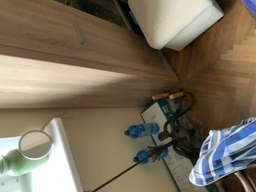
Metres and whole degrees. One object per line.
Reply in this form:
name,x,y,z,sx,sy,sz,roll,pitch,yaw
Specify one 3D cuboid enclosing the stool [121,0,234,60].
stool,0.310,-0.590,1.410,0.420,0.460,0.470,-39,64,35
